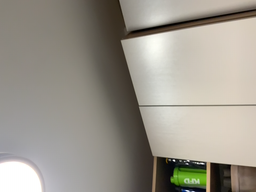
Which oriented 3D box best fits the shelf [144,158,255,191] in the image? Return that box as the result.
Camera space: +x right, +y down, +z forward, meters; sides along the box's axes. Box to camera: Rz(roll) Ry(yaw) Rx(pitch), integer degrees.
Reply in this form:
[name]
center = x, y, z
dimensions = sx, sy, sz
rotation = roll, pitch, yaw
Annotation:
[shelf]
center = 0.620, 0.610, 1.200
dimensions = 0.460, 0.960, 0.390
rotation = 31, -119, -59
